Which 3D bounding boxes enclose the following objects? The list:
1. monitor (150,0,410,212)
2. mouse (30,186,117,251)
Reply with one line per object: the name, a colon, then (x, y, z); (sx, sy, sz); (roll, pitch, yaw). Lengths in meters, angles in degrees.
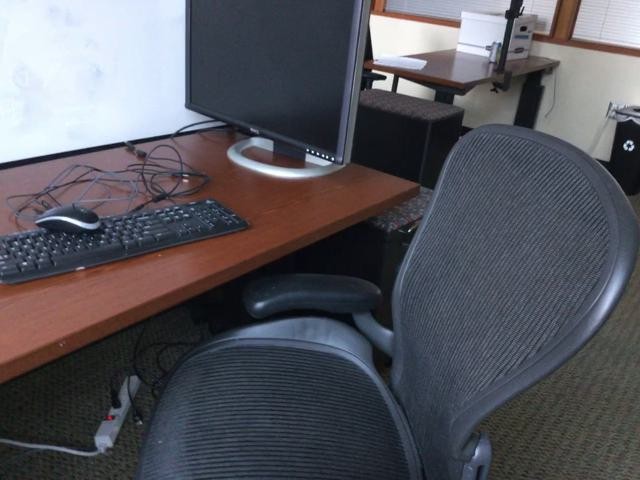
monitor: (-0.120, -0.410, 1.430); (0.590, 0.450, 0.250); (26, 38, 32)
mouse: (-0.430, -0.040, 1.010); (0.110, 0.050, 0.090); (26, 38, 32)
